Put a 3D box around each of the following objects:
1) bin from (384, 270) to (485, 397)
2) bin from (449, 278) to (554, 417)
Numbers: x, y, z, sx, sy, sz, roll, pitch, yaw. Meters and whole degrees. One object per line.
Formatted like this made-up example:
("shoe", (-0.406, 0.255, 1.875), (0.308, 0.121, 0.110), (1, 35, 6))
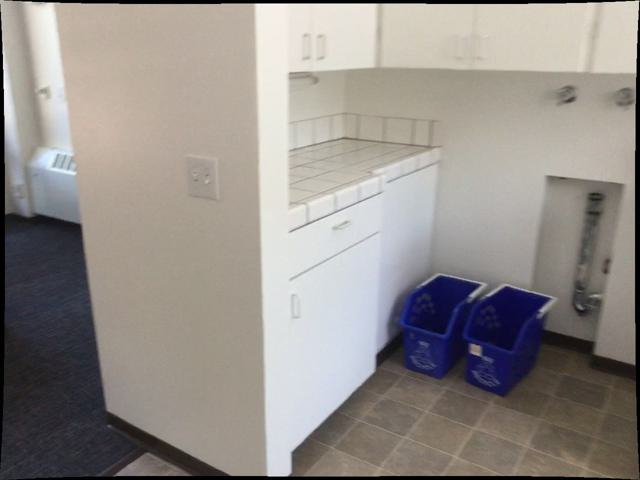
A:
("bin", (0.539, 0.411, 2.680), (0.290, 0.361, 0.490), (9, 22, 32))
("bin", (0.809, 0.451, 2.550), (0.300, 0.371, 0.490), (9, 22, 32))
